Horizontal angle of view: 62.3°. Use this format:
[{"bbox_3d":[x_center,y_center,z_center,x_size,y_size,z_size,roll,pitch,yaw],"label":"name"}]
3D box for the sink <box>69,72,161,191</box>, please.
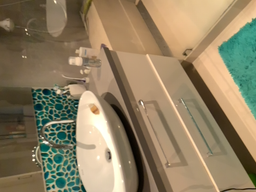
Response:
[{"bbox_3d":[-0.110,0.230,1.010,0.380,0.130,0.570,-51,50,43],"label":"sink"}]
